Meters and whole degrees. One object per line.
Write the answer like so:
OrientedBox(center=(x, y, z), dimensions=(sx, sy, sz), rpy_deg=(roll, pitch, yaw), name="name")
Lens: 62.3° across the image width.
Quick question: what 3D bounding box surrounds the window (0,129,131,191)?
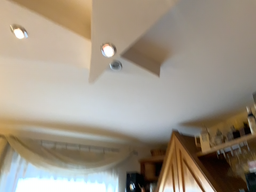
OrientedBox(center=(-0.700, 1.300, 2.110), dimensions=(1.490, 1.750, 0.130), rpy_deg=(12, -31, -18), name="window")
